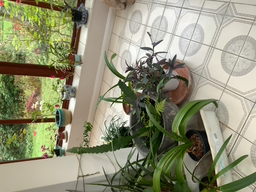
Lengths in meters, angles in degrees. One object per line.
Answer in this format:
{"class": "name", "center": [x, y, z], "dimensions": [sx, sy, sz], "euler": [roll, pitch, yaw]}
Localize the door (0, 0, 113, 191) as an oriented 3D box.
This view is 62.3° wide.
{"class": "door", "center": [-1.840, 1.070, 3.130], "dimensions": [0.170, 2.290, 5.770], "euler": [41, 122, 50]}
